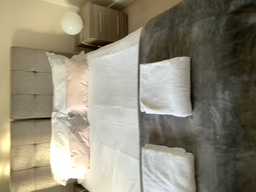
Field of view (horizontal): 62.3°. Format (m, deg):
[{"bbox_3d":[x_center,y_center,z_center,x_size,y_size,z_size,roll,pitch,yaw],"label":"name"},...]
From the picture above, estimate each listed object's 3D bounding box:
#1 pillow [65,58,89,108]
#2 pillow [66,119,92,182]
[{"bbox_3d":[-0.560,-0.140,2.320,0.120,0.240,0.520,-168,77,-75],"label":"pillow"},{"bbox_3d":[-0.540,0.580,2.330,0.140,0.250,0.630,155,113,-71],"label":"pillow"}]
